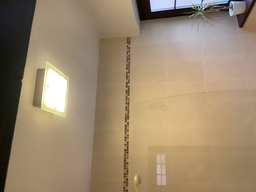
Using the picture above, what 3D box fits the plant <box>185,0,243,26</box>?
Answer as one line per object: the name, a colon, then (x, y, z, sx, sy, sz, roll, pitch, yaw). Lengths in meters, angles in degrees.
plant: (0.890, -0.920, 2.260, 0.240, 0.530, 0.170, 64, -154, -68)
